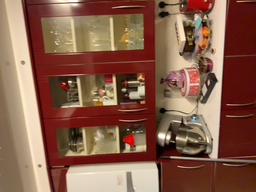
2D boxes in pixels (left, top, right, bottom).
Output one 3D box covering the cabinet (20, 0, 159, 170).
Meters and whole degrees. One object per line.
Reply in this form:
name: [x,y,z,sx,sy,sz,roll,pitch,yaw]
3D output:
cabinet: [-0.240,-0.280,1.670,0.410,0.890,1.620,-100,7,-77]
